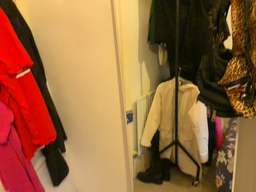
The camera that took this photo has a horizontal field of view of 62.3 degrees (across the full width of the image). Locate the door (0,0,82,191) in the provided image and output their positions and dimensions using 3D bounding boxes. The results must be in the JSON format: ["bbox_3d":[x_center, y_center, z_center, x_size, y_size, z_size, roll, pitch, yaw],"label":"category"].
[{"bbox_3d":[-0.540,0.250,1.040,0.060,1.920,0.740,-3,24,11],"label":"door"}]

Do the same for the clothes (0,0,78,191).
[{"bbox_3d":[-0.470,0.030,0.950,0.170,1.030,0.340,-4,24,8],"label":"clothes"}]
